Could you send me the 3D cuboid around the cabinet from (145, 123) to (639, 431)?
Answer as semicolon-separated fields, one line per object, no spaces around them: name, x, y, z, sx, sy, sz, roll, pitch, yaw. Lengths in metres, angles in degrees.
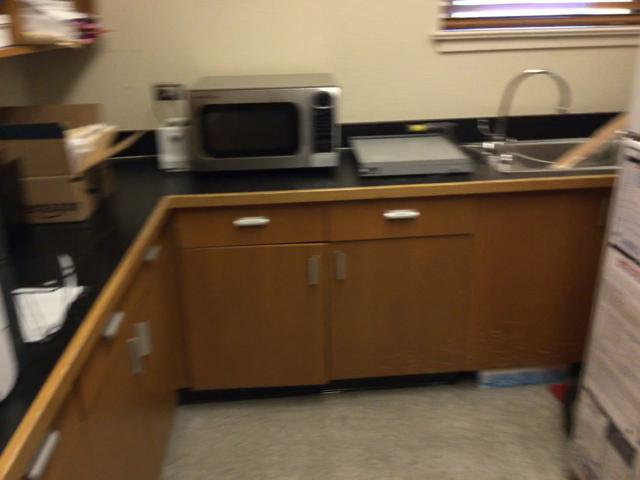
cabinet;0.240;0.100;2.250;1.550;0.910;0.630;-4;20;-3

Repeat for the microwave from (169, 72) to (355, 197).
microwave;-0.200;-0.420;2.180;0.590;0.340;0.530;-4;20;-3

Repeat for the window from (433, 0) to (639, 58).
window;0.860;-1.080;2.180;0.810;0.700;0.210;-4;20;-3

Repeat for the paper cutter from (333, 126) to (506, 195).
paper cutter;0.330;-0.310;2.140;0.510;0.100;0.580;-4;20;-3
